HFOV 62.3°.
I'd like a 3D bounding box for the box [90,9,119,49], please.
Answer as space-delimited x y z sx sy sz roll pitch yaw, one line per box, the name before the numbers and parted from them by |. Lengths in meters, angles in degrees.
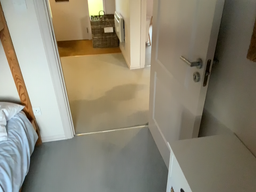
box | -0.510 -1.460 4.590 0.520 0.650 0.660 -7 33 -10
